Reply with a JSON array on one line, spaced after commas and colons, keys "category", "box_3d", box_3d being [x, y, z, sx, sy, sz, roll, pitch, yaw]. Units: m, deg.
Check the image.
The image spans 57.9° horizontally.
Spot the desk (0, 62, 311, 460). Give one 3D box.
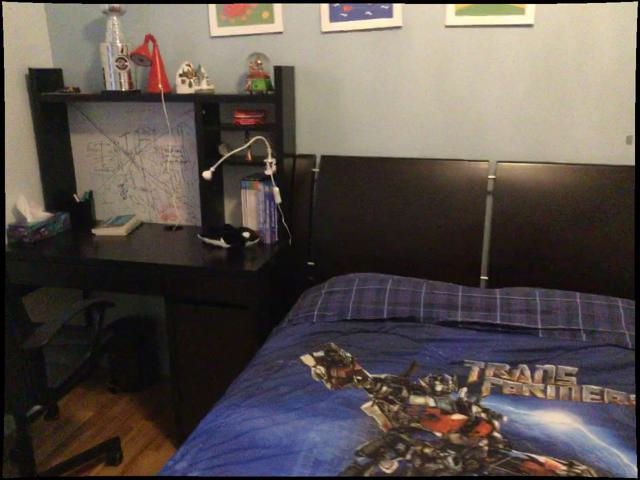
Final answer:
[{"category": "desk", "box_3d": [-0.649, 0.020, 2.240, 1.099, 1.341, 0.570, 4, 18, 14]}]

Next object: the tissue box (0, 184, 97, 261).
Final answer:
[{"category": "tissue box", "box_3d": [-1.079, -0.080, 2.290, 0.180, 0.210, 0.340, 4, 18, 14]}]
